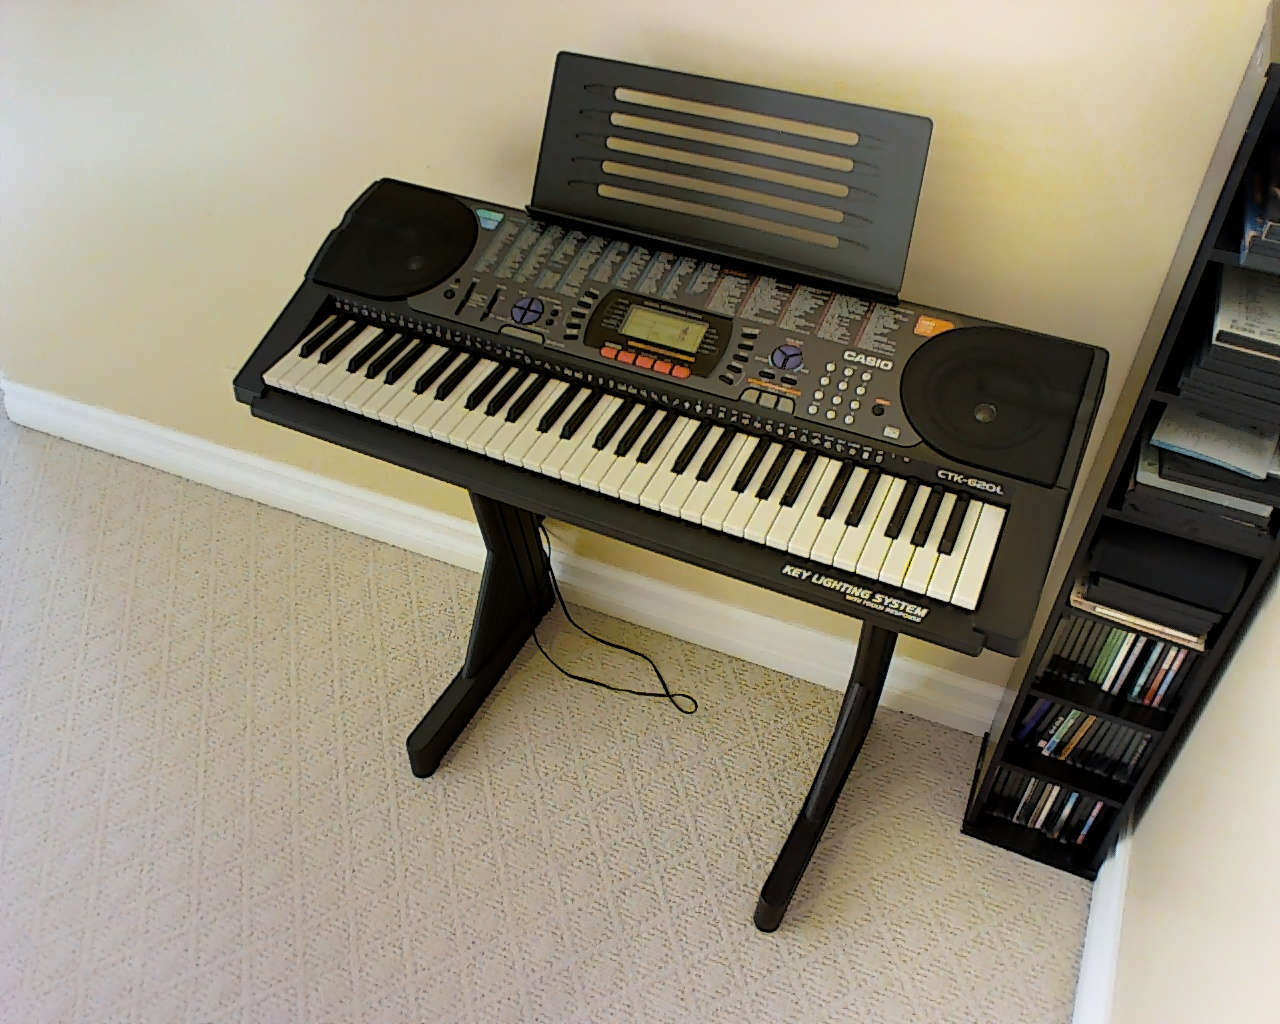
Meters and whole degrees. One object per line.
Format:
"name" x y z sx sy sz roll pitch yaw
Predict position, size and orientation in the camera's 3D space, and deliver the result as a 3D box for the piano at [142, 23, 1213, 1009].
"piano" 0.050 0.010 1.400 0.960 0.980 0.500 17 45 18
